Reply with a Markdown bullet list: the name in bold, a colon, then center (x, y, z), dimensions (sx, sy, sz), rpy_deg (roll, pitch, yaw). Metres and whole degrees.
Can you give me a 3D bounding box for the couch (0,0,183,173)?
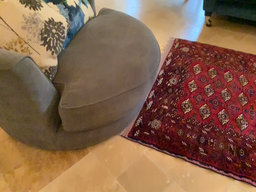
- **couch**: center (-0.380, -0.180, 1.200), dimensions (1.080, 0.790, 0.890), rpy_deg (1, 46, 0)
